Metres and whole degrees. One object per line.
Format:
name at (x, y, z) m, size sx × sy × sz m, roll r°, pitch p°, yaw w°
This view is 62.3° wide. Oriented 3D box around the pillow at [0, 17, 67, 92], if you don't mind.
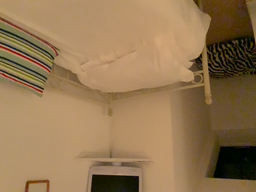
pillow at (-0.690, -0.240, 1.250) m, size 0.230 × 0.280 × 0.590 m, roll -24°, pitch 159°, yaw 30°
